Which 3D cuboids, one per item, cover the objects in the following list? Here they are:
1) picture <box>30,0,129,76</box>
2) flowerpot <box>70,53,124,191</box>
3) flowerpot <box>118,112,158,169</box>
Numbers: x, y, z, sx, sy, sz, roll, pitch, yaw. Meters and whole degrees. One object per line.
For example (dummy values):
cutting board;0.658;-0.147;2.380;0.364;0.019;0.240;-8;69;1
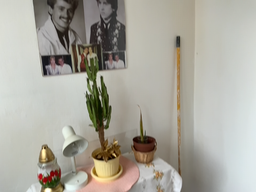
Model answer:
picture;-0.240;-0.480;1.130;0.510;0.690;0.050;-11;15;-31
flowerpot;-0.160;0.120;1.120;0.160;0.670;0.210;-10;15;-29
flowerpot;0.060;0.260;1.300;0.140;0.260;0.210;-10;15;-29
